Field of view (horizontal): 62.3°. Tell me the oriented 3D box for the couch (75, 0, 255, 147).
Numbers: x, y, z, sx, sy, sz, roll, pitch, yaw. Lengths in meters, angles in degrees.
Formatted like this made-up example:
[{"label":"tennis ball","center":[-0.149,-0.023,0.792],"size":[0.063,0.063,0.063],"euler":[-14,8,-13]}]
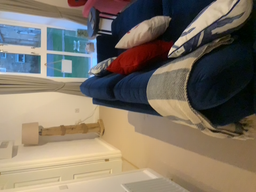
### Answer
[{"label":"couch","center":[0.250,-0.410,1.840],"size":[2.210,0.920,1.060],"euler":[5,94,64]}]
